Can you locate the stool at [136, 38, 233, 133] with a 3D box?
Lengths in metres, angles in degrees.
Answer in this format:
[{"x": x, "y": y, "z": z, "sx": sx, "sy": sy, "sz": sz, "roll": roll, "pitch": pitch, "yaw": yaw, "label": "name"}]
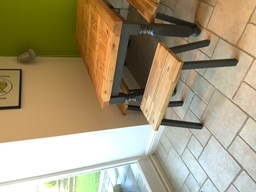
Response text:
[{"x": 0.390, "y": -0.080, "z": 1.650, "sx": 0.340, "sy": 0.450, "sz": 0.610, "roll": -120, "pitch": 35, "yaw": -47, "label": "stool"}]
